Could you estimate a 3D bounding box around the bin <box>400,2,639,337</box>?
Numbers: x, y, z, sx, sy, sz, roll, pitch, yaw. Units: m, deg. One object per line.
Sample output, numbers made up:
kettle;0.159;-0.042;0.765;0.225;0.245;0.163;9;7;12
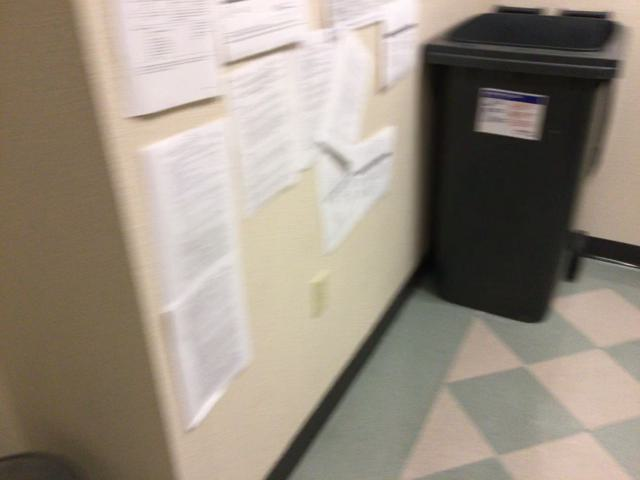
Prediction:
bin;0.720;-0.300;2.140;0.580;0.970;0.680;14;33;24
